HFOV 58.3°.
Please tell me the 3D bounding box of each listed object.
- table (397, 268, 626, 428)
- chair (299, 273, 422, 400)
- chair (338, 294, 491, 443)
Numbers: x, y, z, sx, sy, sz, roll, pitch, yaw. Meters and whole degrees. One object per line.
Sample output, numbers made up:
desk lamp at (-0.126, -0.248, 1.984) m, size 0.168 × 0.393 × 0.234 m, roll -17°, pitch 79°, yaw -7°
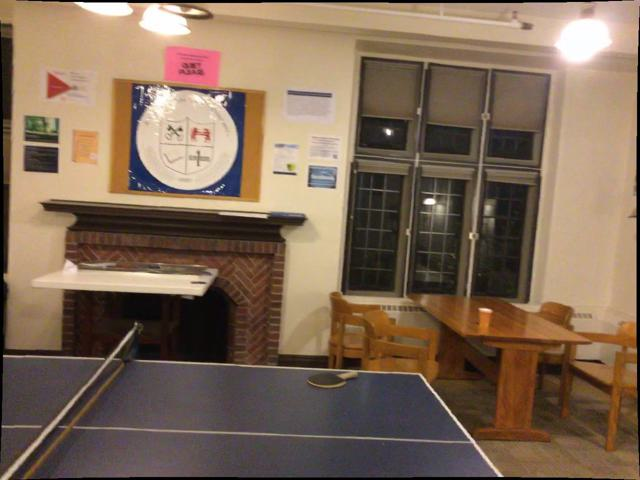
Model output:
table at (1.349, 0.741, 4.520) m, size 1.069 × 0.791 × 1.660 m, roll 1°, pitch 5°, yaw -6°
chair at (0.290, 0.741, 4.690) m, size 0.779 × 0.811 × 0.840 m, roll 1°, pitch 6°, yaw -11°
chair at (0.599, 0.811, 3.860) m, size 0.729 × 0.741 × 0.740 m, roll 0°, pitch 6°, yaw -17°
